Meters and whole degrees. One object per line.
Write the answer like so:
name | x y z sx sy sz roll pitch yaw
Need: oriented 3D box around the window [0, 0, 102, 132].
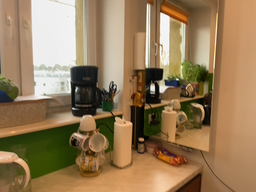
window | -0.770 -0.420 1.220 0.130 1.250 1.510 8 9 42
